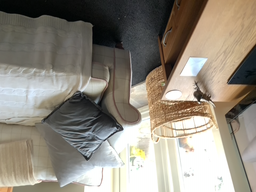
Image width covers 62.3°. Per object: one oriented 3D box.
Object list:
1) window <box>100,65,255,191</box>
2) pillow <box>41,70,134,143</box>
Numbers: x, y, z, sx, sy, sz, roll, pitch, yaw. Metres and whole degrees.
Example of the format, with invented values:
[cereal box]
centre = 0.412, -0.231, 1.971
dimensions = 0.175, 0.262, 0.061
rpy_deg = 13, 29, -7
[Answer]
[window]
centre = 0.370, 0.980, 1.680
dimensions = 1.350, 2.290, 0.300
rpy_deg = -21, 144, 29
[pillow]
centre = -0.230, 0.090, 1.240
dimensions = 0.380, 0.200, 0.360
rpy_deg = -28, 140, 37
